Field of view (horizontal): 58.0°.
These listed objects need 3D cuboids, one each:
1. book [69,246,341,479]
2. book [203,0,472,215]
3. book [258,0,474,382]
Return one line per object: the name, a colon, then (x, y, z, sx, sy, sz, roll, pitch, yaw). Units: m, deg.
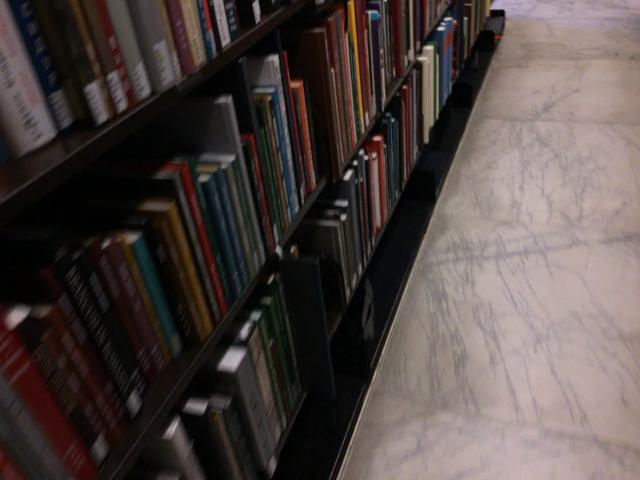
book: (-0.160, 0.360, 0.890, 0.150, 0.370, 0.670, 10, 38, 19)
book: (0.220, -0.720, 1.790, 0.240, 0.410, 1.720, 10, 38, 19)
book: (0.270, -0.350, 1.880, 0.140, 0.480, 1.710, 10, 38, 19)
